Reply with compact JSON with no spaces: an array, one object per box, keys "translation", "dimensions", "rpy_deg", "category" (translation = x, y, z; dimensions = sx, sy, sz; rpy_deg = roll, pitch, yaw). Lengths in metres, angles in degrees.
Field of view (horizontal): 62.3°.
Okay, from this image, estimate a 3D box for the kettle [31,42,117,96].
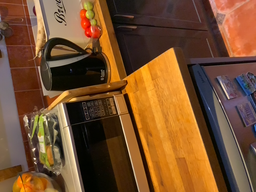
[{"translation":[-0.220,-0.110,0.870],"dimensions":[0.160,0.280,0.160],"rpy_deg":[-21,80,54],"category":"kettle"}]
